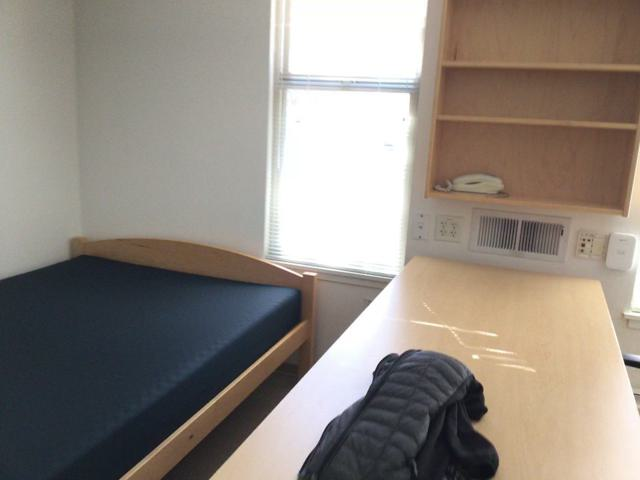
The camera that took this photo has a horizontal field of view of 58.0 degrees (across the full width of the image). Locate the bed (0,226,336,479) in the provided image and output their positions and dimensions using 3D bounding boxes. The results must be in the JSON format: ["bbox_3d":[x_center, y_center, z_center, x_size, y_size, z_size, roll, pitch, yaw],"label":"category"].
[{"bbox_3d":[-1.020,0.540,2.140,1.420,0.710,2.190,7,13,22],"label":"bed"}]

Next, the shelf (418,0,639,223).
[{"bbox_3d":[0.850,-0.680,2.200,0.820,1.130,0.270,7,13,22],"label":"shelf"}]

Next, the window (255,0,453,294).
[{"bbox_3d":[0.140,-0.720,2.630,0.820,1.820,0.250,7,13,22],"label":"window"}]
